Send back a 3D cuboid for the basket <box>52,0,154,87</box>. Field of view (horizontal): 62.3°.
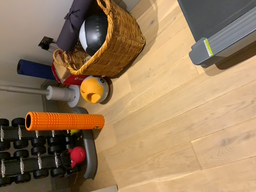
[{"bbox_3d":[-0.230,-0.470,1.730,0.610,0.460,0.510,-35,62,37],"label":"basket"}]
